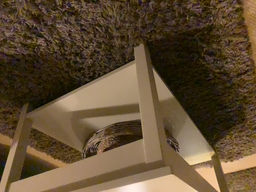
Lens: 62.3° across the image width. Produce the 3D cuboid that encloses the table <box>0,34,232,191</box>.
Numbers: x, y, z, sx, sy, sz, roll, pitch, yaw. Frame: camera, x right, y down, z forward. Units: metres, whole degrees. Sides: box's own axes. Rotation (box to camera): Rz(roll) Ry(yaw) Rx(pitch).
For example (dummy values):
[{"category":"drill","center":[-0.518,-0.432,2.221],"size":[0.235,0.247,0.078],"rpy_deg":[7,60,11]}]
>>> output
[{"category":"table","center":[0.040,0.360,1.020],"size":[0.670,0.460,1.010],"rpy_deg":[-23,137,22]}]
